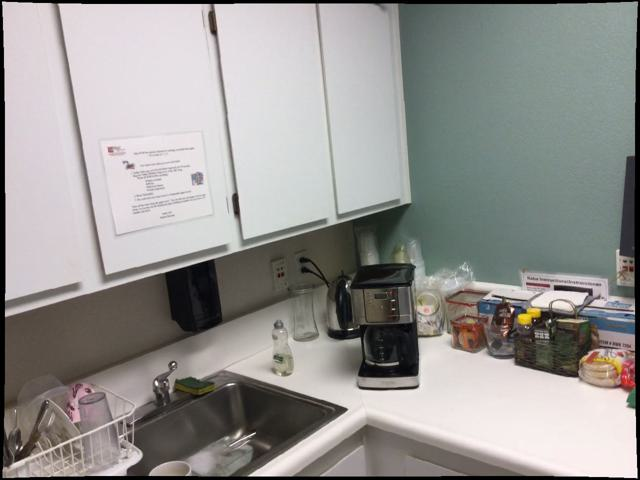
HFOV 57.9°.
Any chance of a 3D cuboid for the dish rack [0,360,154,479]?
[{"bbox_3d":[-0.669,0.480,1.360,0.350,0.200,0.380,4,15,41],"label":"dish rack"}]
